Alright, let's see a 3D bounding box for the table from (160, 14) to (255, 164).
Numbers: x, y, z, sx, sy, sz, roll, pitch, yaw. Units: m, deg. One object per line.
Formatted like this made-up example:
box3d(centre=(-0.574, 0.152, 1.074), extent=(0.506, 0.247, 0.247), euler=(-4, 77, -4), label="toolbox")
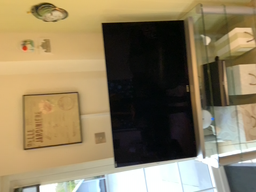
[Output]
box3d(centre=(0.720, -0.070, 1.880), extent=(0.580, 0.580, 1.080), euler=(176, 90, -74), label="table")
